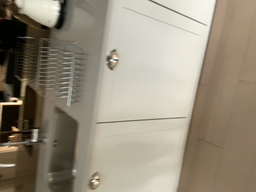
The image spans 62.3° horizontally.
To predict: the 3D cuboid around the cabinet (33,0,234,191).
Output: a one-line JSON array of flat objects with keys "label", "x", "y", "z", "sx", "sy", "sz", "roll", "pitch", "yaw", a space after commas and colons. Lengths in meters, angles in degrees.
[{"label": "cabinet", "x": 0.060, "y": -0.320, "z": 1.390, "sx": 0.660, "sy": 0.920, "sz": 4.000, "roll": 21, "pitch": 105, "yaw": 48}]
